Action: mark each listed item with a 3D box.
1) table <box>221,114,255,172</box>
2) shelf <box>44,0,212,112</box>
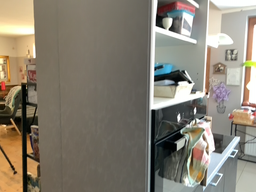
[{"bbox_3d":[2.110,0.760,3.370,1.010,0.750,0.520,6,9,37],"label":"table"},{"bbox_3d":[0.030,-0.370,1.110,0.600,0.740,0.650,6,9,36],"label":"shelf"}]
